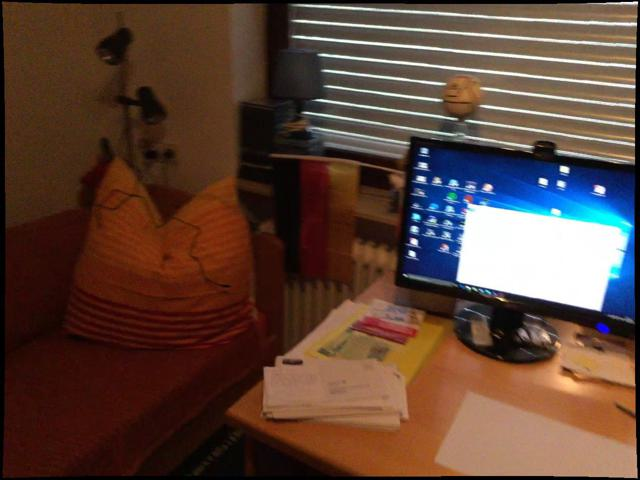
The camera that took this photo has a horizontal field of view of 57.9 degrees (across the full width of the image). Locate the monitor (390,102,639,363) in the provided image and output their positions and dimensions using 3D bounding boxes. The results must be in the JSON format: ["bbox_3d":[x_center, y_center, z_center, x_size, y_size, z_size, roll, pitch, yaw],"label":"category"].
[{"bbox_3d":[0.450,-0.020,1.210,0.510,0.400,0.140,16,27,11],"label":"monitor"}]

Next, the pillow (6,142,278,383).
[{"bbox_3d":[-0.529,0.030,1.870,0.530,0.581,0.520,3,21,25],"label":"pillow"}]

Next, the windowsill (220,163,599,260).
[{"bbox_3d":[0.260,-0.120,1.920,1.189,0.200,0.300,3,21,25],"label":"windowsill"}]
